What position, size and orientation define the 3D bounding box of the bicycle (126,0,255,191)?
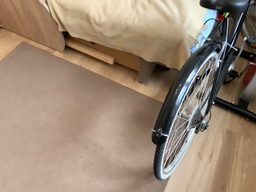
[{"bbox_3d":[0.460,-0.280,1.120,0.270,0.720,1.490,24,61,13],"label":"bicycle"}]
